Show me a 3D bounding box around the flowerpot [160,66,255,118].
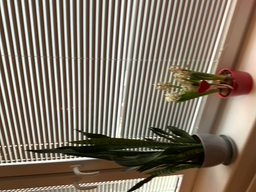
[{"bbox_3d":[0.360,-0.020,0.940,0.130,0.390,0.180,-113,26,-60],"label":"flowerpot"}]

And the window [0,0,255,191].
[{"bbox_3d":[-0.210,0.310,1.070,0.060,1.600,1.820,-113,26,-60],"label":"window"}]
